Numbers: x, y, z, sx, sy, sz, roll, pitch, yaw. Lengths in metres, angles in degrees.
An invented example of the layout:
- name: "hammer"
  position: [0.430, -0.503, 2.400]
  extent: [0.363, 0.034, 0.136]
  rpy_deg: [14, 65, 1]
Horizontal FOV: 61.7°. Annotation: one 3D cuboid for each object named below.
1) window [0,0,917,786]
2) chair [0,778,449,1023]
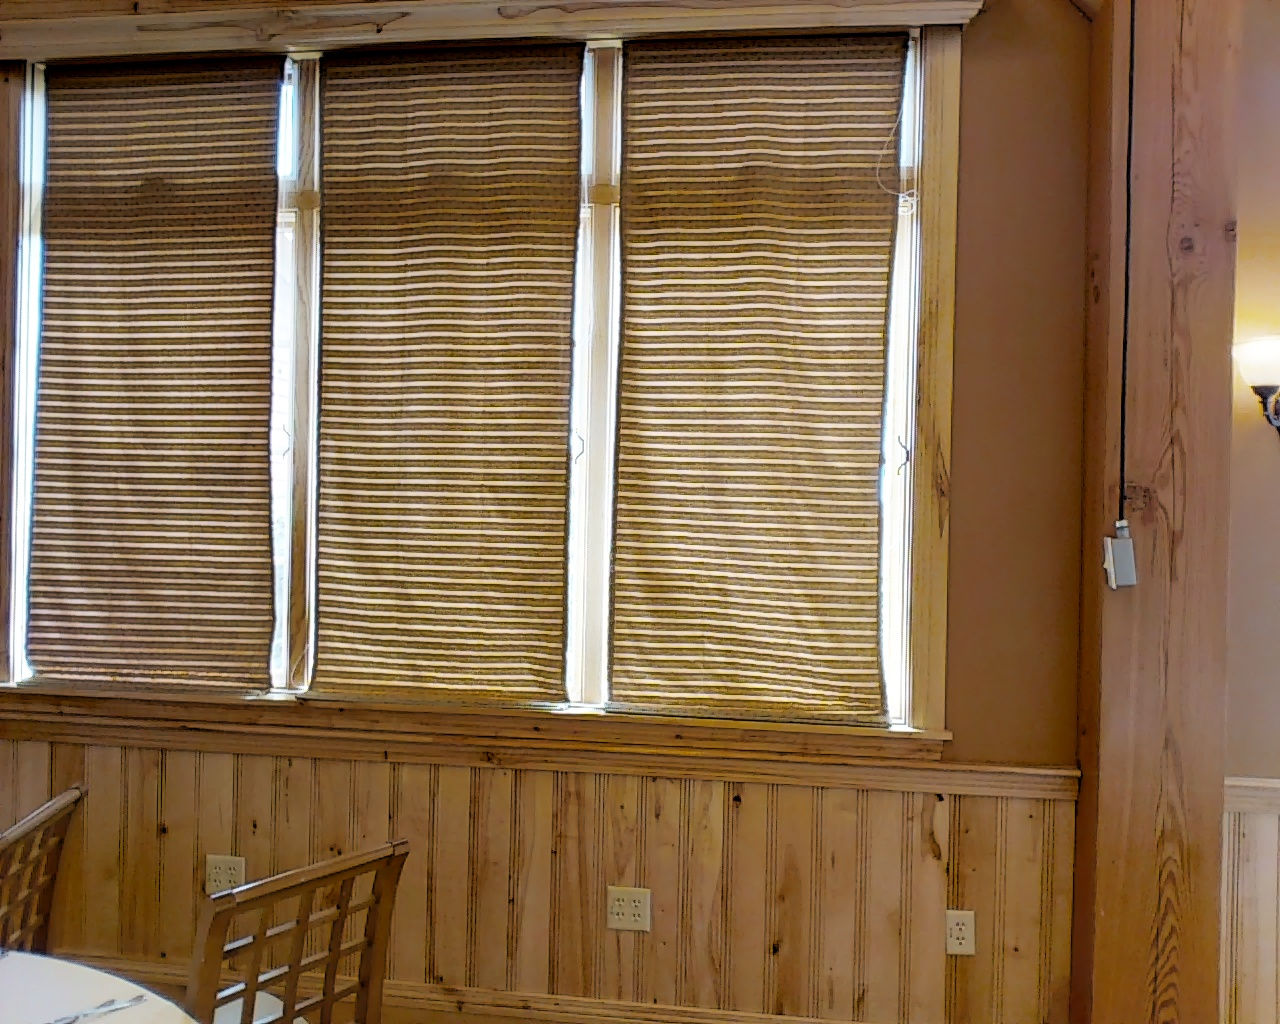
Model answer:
- name: "window"
  position: [-0.670, -0.370, 3.140]
  extent: [2.830, 2.150, 0.150]
  rpy_deg: [1, 0, 8]
- name: "chair"
  position: [-0.810, 1.020, 2.090]
  extent: [0.670, 0.810, 0.520]
  rpy_deg: [1, 0, 22]
